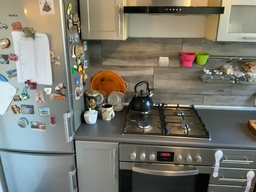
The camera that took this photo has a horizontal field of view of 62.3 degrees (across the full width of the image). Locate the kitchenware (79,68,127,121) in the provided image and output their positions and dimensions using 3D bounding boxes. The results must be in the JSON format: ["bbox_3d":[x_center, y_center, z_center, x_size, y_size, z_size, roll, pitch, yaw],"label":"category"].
[{"bbox_3d":[-0.180,-0.030,1.720,0.310,0.300,0.390,3,20,5],"label":"kitchenware"}]

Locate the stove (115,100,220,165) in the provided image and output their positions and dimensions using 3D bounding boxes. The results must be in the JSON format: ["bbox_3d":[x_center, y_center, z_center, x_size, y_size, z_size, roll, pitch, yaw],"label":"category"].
[{"bbox_3d":[0.260,0.240,1.630,0.650,0.180,0.610,2,20,4],"label":"stove"}]
